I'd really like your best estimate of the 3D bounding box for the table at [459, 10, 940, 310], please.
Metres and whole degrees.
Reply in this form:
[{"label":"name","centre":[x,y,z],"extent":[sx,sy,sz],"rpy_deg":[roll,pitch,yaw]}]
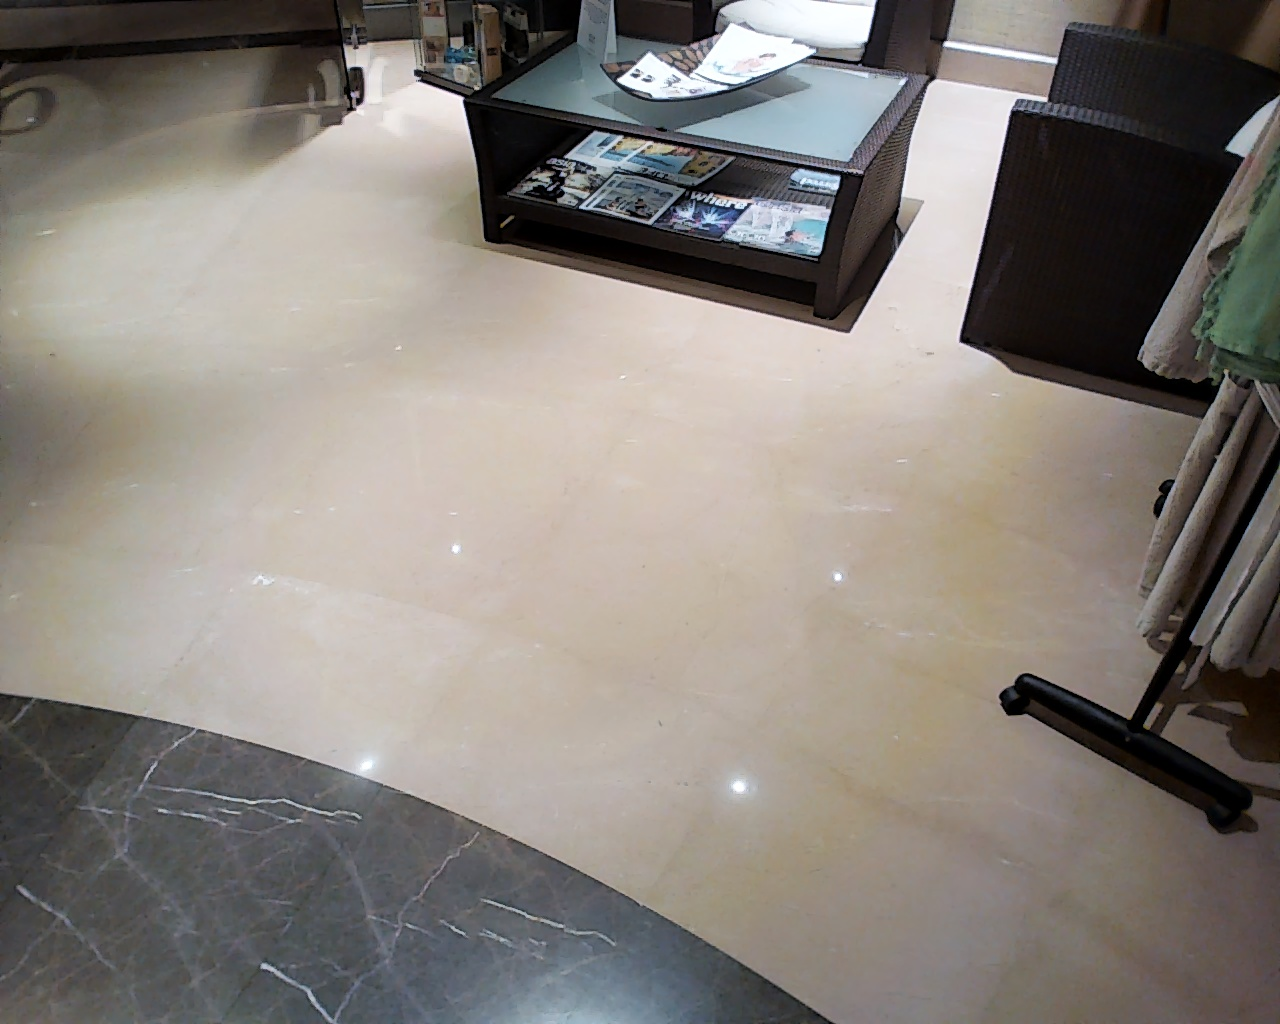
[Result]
[{"label":"table","centre":[0.200,-1.150,3.380],"extent":[1.230,0.430,0.830],"rpy_deg":[16,44,17]}]
